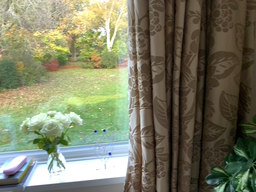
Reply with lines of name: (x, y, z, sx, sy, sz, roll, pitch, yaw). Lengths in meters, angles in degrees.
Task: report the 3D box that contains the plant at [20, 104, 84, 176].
plant: (-0.380, 0.220, 1.120, 0.260, 0.300, 0.180, -4, 16, -10)
